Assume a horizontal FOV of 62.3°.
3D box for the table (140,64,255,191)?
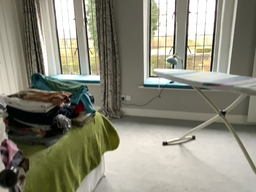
[{"bbox_3d":[0.790,0.260,2.070,0.620,0.920,1.560,-10,18,-26],"label":"table"}]
